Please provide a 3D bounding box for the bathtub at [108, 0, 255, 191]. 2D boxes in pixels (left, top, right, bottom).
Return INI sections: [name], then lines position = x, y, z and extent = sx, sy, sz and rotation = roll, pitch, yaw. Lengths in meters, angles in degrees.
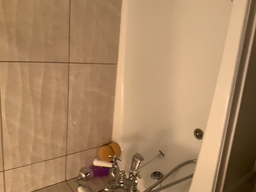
[bathtub]
position = 0.380, -0.290, 1.090
extent = 0.690, 0.580, 1.650
rotation = 20, 110, 48
